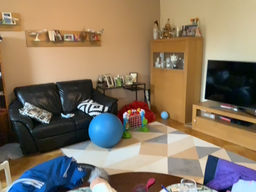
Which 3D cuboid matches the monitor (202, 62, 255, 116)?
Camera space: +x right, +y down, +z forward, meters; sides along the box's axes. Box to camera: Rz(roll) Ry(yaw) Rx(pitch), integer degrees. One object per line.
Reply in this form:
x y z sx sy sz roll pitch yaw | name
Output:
1.690 -0.130 3.320 0.050 0.740 1.180 -9 15 -32 | monitor

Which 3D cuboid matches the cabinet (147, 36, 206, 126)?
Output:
0.970 -0.380 4.570 0.460 1.690 1.210 -8 15 -30 | cabinet

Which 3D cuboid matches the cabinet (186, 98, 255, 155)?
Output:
1.720 0.450 3.540 0.530 0.500 1.470 -8 15 -30 | cabinet
